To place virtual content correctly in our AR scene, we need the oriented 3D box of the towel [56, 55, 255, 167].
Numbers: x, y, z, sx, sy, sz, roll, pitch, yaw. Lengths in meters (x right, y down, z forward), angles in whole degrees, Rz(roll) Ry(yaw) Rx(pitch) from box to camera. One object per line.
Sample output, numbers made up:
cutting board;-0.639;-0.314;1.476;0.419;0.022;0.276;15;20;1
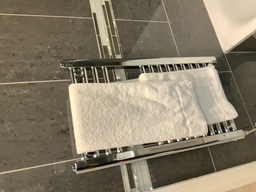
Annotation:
towel;0.150;0.020;0.830;0.130;0.790;0.330;129;131;-60
